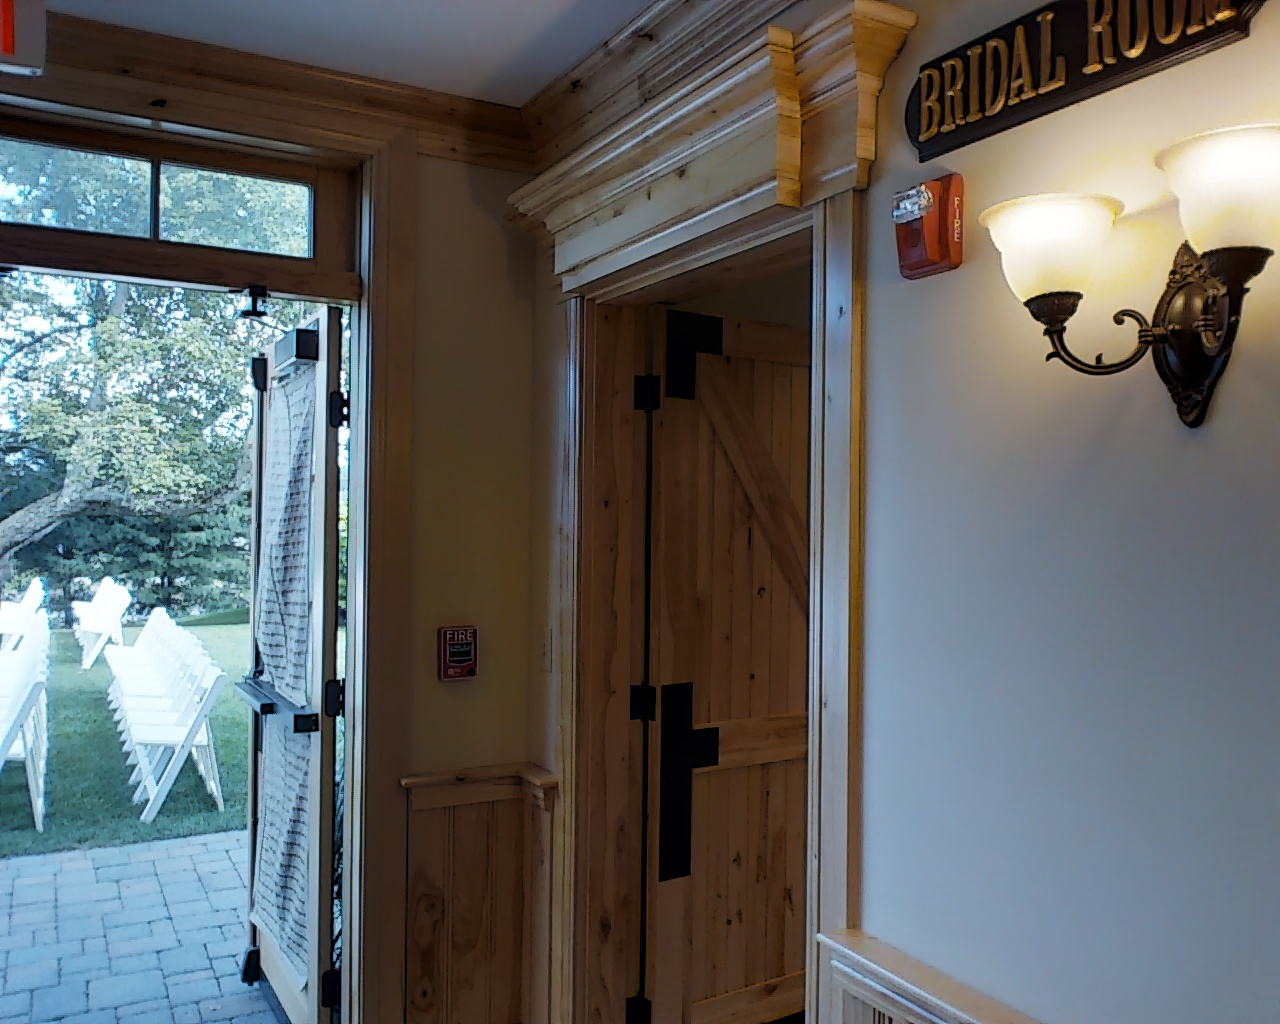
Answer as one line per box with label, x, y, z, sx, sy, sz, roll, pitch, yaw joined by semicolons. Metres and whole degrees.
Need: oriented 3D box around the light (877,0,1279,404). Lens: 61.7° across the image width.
light;0.560;-0.340;1.290;0.200;0.360;0.560;1;0;-32
